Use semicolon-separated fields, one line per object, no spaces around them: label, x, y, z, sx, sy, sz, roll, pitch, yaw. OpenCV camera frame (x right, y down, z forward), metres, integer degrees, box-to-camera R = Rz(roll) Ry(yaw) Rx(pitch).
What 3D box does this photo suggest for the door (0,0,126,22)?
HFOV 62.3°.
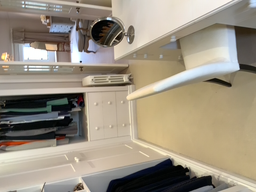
door;-1.120;-1.460;3.570;0.780;2.050;0.040;-164;73;-64
